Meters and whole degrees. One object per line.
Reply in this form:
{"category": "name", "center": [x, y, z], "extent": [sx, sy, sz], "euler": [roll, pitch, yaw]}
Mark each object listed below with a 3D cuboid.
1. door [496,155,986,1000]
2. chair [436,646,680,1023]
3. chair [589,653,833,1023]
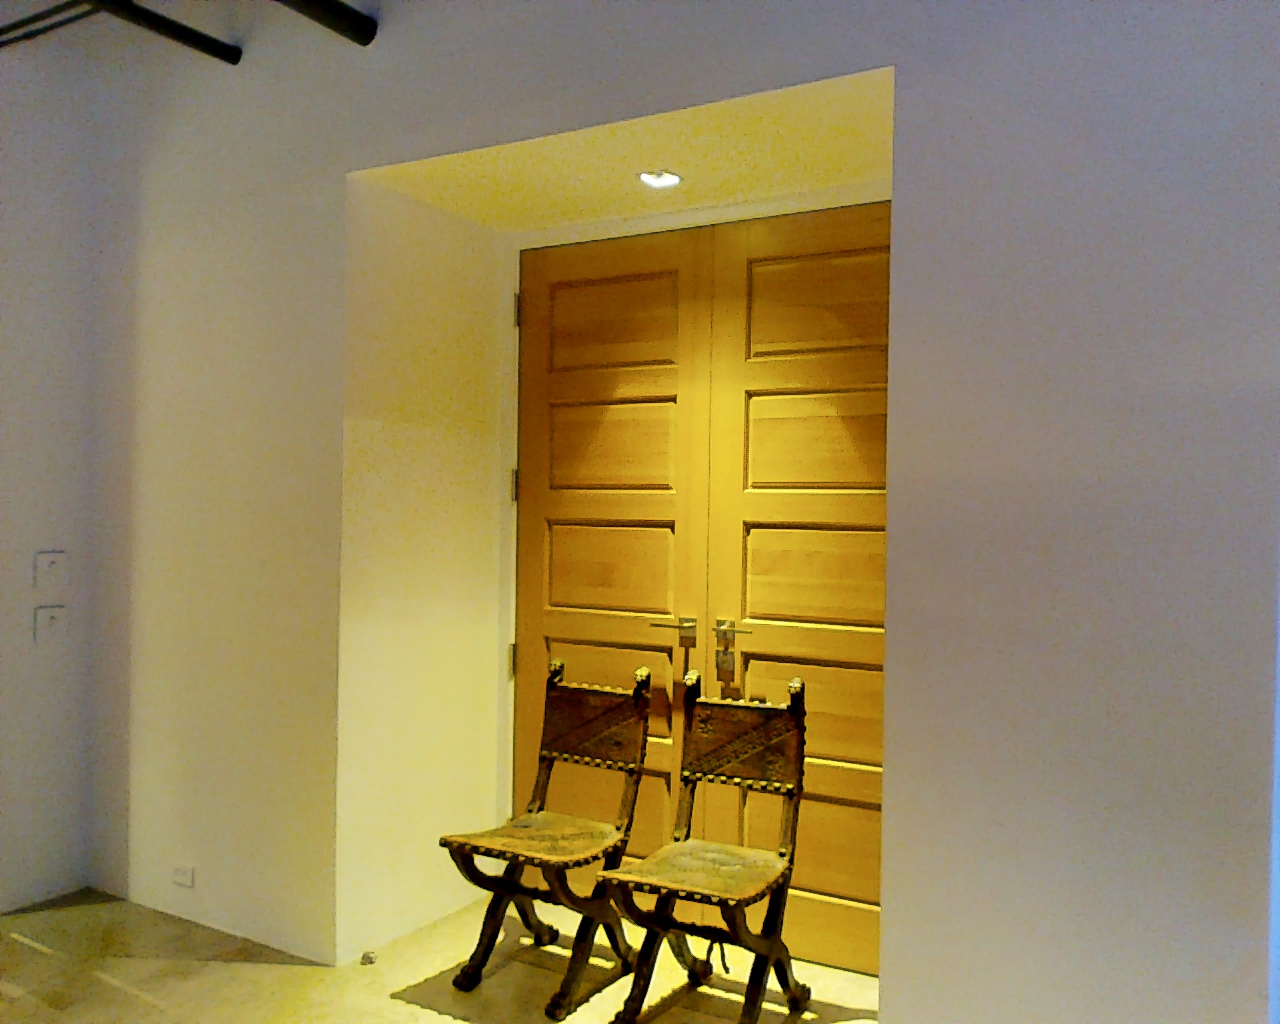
{"category": "door", "center": [0.250, 0.180, 3.660], "extent": [1.740, 2.510, 0.080], "euler": [1, 0, 30]}
{"category": "chair", "center": [-0.240, 0.950, 3.350], "extent": [0.480, 0.960, 0.610], "euler": [1, 0, 30]}
{"category": "chair", "center": [0.220, 0.950, 3.080], "extent": [0.460, 0.990, 0.600], "euler": [1, 0, 30]}
